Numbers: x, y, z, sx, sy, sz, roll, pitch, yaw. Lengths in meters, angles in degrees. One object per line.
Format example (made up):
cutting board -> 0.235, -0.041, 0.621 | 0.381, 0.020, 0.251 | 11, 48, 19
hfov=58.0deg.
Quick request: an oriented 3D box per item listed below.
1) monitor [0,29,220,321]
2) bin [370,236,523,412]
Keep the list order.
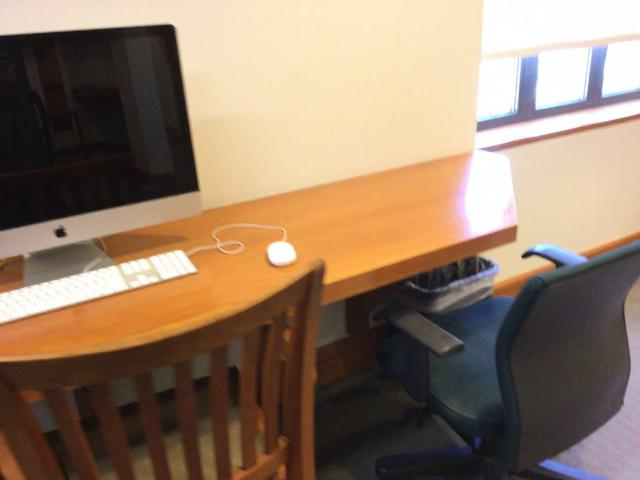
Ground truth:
monitor -> -0.580, -0.160, 1.230 | 0.670, 0.530, 0.260 | -15, 28, -36
bin -> 0.460, 0.290, 2.140 | 0.450, 0.460, 0.280 | -15, 28, -36
